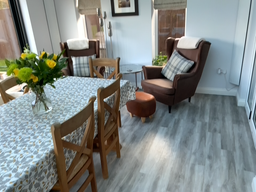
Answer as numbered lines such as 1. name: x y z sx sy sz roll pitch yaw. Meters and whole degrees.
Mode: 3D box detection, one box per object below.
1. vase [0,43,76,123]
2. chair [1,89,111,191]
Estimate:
1. vase: -0.750 -0.140 1.760 0.450 0.500 0.370 19 32 41
2. chair: -0.500 0.480 1.670 0.490 0.920 0.460 9 26 26
